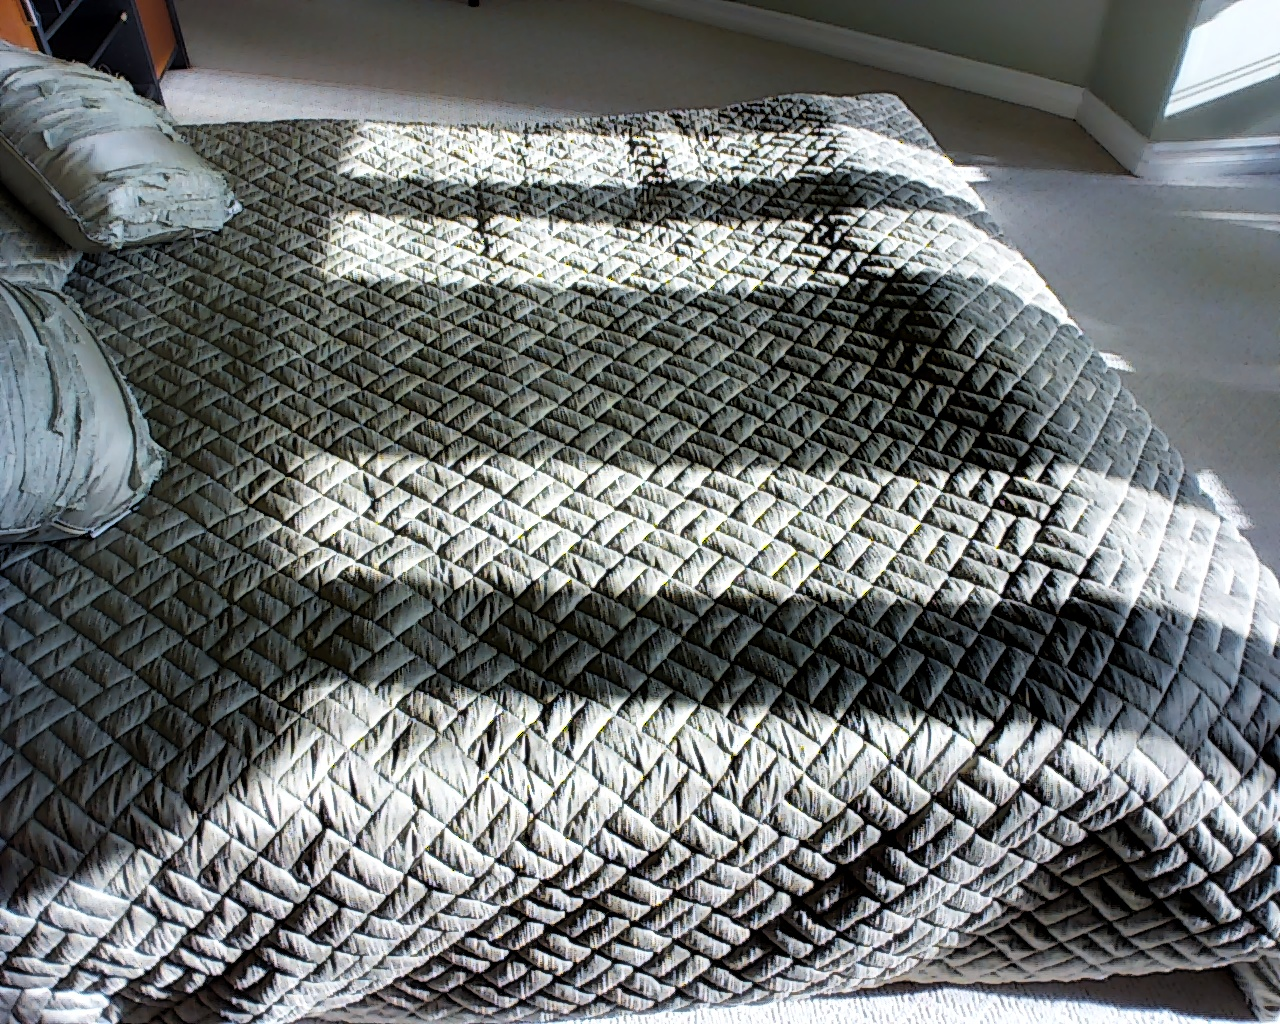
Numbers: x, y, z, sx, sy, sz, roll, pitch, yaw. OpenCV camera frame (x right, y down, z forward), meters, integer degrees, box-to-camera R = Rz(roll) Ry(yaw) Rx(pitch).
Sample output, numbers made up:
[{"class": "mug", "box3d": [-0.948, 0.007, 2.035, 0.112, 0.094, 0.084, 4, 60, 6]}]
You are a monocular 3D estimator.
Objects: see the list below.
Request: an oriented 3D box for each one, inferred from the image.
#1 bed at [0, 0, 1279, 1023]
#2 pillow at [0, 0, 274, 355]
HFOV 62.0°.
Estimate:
[{"class": "bed", "box3d": [-0.470, -0.380, 1.770, 2.440, 1.140, 2.050, -5, 42, -5]}, {"class": "pillow", "box3d": [-0.960, -0.620, 1.850, 0.440, 0.380, 0.530, -19, 45, -20]}]
